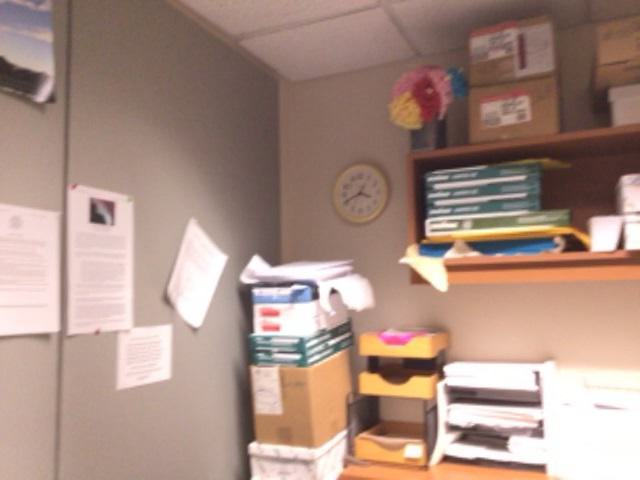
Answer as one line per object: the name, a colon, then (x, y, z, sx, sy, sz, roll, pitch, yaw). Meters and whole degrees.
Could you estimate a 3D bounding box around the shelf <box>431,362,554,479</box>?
shelf: (0.590, 0.590, 1.960, 0.340, 0.310, 0.300, -5, -7, 25)

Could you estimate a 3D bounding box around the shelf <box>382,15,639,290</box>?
shelf: (1.110, -0.250, 1.640, 1.800, 0.710, 0.410, -5, -7, 25)

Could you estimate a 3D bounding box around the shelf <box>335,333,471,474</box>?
shelf: (0.300, 0.550, 2.050, 0.380, 0.420, 0.320, -5, -7, 25)
